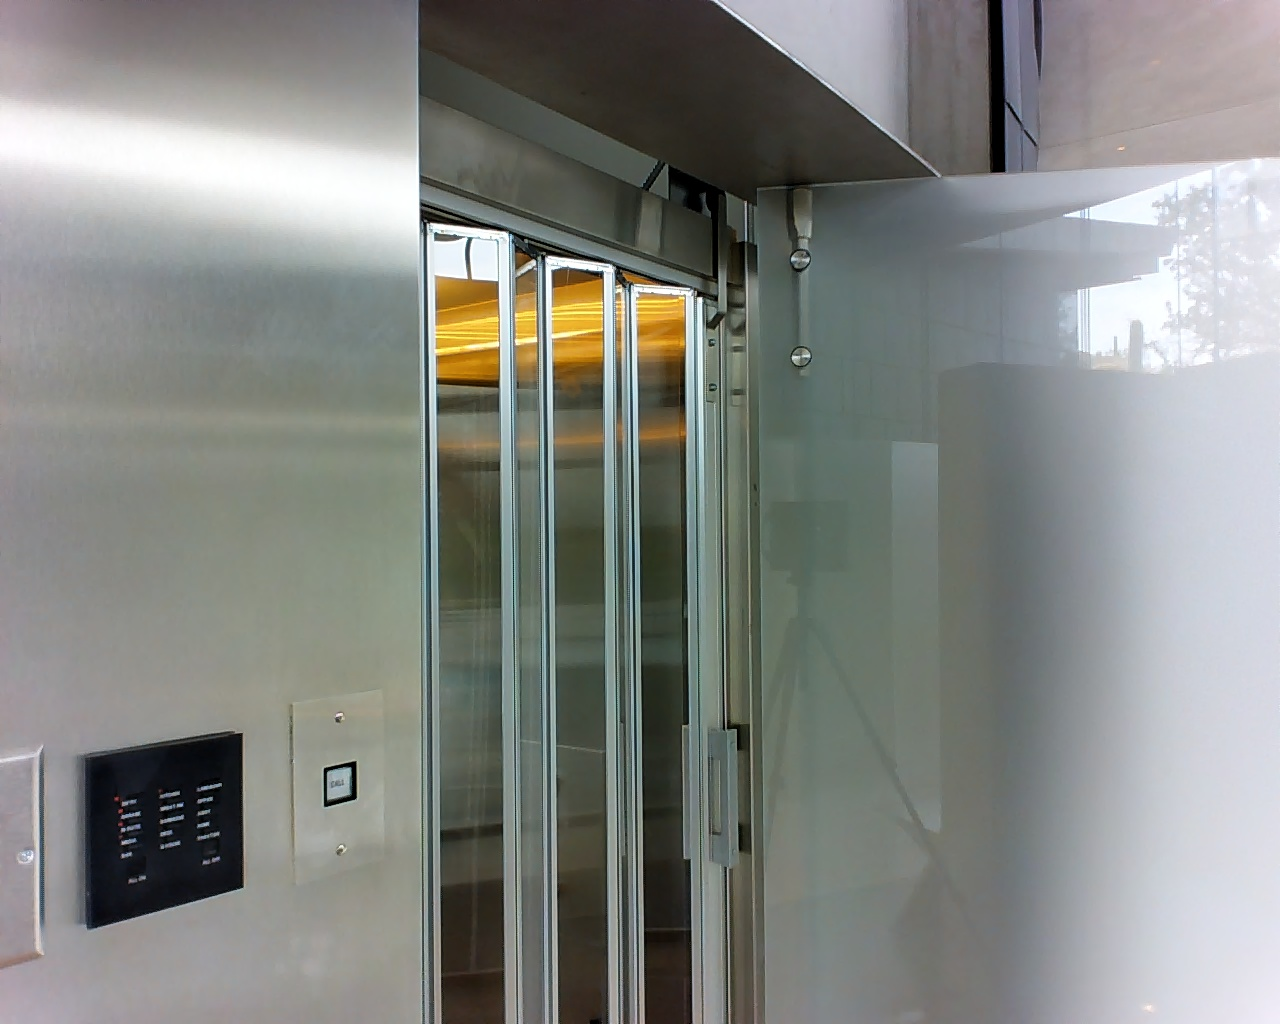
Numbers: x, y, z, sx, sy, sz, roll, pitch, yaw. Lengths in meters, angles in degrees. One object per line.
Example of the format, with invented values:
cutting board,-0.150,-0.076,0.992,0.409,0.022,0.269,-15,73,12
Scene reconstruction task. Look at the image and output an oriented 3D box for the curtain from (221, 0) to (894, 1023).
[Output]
curtain,0.000,0.580,1.420,0.270,2.150,1.040,-1,0,36
